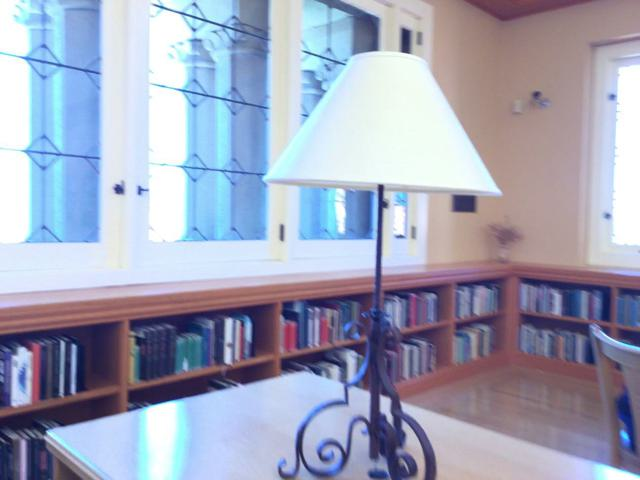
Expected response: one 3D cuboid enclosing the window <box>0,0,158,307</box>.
[{"bbox_3d":[-1.300,-0.550,2.510,1.160,1.660,0.130,1,1,-41],"label":"window"}]
